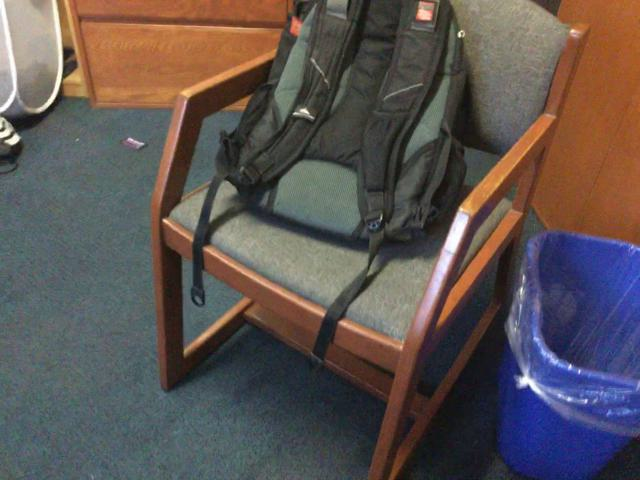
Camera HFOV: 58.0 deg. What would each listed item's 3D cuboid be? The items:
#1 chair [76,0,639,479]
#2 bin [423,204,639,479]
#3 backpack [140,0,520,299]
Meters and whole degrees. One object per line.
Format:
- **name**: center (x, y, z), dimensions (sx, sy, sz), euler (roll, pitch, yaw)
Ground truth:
- **chair**: center (0.070, -0.030, 1.090), dimensions (0.570, 0.790, 0.640), euler (30, 46, 28)
- **bin**: center (0.490, 0.240, 1.130), dimensions (0.350, 0.380, 0.400), euler (30, 46, 28)
- **backpack**: center (0.020, -0.200, 0.940), dimensions (0.460, 0.330, 0.320), euler (19, 41, 17)
